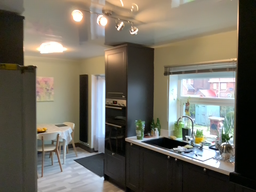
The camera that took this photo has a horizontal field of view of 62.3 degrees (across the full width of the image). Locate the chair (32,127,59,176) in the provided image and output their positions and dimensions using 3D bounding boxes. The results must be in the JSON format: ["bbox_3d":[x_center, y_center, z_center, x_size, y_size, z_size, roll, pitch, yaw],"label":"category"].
[{"bbox_3d":[-1.620,1.060,4.160,0.430,0.800,0.420,-1,3,-32],"label":"chair"}]
